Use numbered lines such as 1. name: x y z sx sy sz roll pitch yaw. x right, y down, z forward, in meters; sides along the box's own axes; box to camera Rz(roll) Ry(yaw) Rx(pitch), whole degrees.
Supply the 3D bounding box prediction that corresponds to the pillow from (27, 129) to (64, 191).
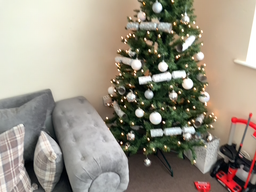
1. pillow: -0.550 0.410 1.380 0.140 0.250 0.350 8 17 -31
